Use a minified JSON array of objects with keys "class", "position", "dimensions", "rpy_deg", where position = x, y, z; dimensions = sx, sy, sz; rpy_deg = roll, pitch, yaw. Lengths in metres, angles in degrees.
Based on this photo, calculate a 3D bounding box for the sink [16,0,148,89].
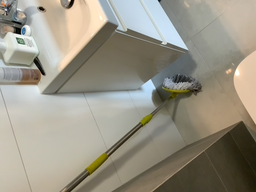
[{"class":"sink","position":[-0.240,-0.390,0.820],"dimensions":[0.380,0.150,0.620],"rpy_deg":[-36,72,31]}]
